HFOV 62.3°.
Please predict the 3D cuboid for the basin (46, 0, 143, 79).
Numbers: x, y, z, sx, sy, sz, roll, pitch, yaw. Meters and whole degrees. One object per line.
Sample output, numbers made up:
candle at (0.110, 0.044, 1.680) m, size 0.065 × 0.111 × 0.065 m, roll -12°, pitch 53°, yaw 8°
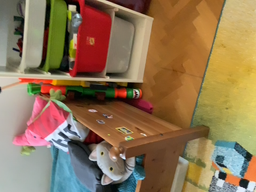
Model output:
basin at (-0.220, -0.360, 1.370) m, size 0.340 × 0.450 × 0.420 m, roll 23°, pitch 107°, yaw 44°
